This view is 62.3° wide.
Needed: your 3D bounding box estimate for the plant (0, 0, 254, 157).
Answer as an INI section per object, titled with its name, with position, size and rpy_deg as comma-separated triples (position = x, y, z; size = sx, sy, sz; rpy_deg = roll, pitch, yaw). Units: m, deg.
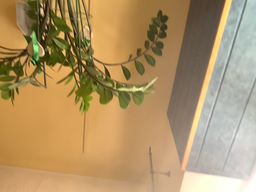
[plant]
position = -0.040, -1.020, 0.790
size = 0.910, 2.160, 1.010
rpy_deg = 7, -157, -1
